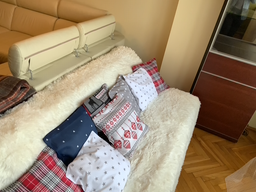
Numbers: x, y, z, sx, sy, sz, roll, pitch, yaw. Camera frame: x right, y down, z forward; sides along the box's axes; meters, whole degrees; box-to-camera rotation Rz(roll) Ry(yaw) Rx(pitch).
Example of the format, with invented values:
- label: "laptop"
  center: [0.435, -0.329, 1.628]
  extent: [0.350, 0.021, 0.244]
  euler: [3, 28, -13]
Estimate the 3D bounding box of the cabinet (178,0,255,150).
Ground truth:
- label: "cabinet"
  center: [1.110, -0.430, 1.970]
  extent: [0.650, 2.040, 0.300]
  euler: [22, 34, 16]
